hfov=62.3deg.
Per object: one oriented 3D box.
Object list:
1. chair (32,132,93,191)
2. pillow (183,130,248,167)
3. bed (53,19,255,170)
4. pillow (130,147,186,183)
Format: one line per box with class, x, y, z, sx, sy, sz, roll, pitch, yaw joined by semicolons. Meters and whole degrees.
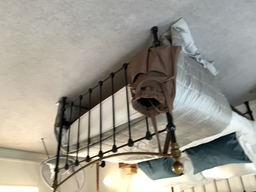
chair;-1.070;1.180;3.710;0.710;0.810;0.800;-7;151;4
pillow;0.900;0.550;2.220;0.510;0.260;0.270;-28;155;36
bed;0.440;0.320;2.530;1.940;0.680;1.640;21;142;-38
pillow;0.370;0.890;2.700;0.580;0.370;0.150;-24;-164;37
